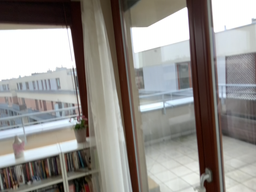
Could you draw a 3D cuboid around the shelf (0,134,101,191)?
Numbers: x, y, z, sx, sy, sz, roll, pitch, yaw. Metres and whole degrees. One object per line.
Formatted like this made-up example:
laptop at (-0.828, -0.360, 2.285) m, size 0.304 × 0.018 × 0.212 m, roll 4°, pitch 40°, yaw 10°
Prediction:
shelf at (-0.850, 1.030, 2.040) m, size 1.140 × 1.050 × 0.330 m, roll -9°, pitch 7°, yaw -22°
